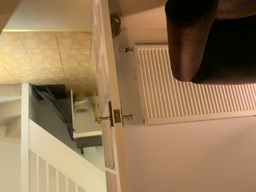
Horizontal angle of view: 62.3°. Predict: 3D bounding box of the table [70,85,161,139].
[{"bbox_3d":[-0.240,0.280,3.770,1.460,0.760,0.510,-3,165,-13],"label":"table"}]
